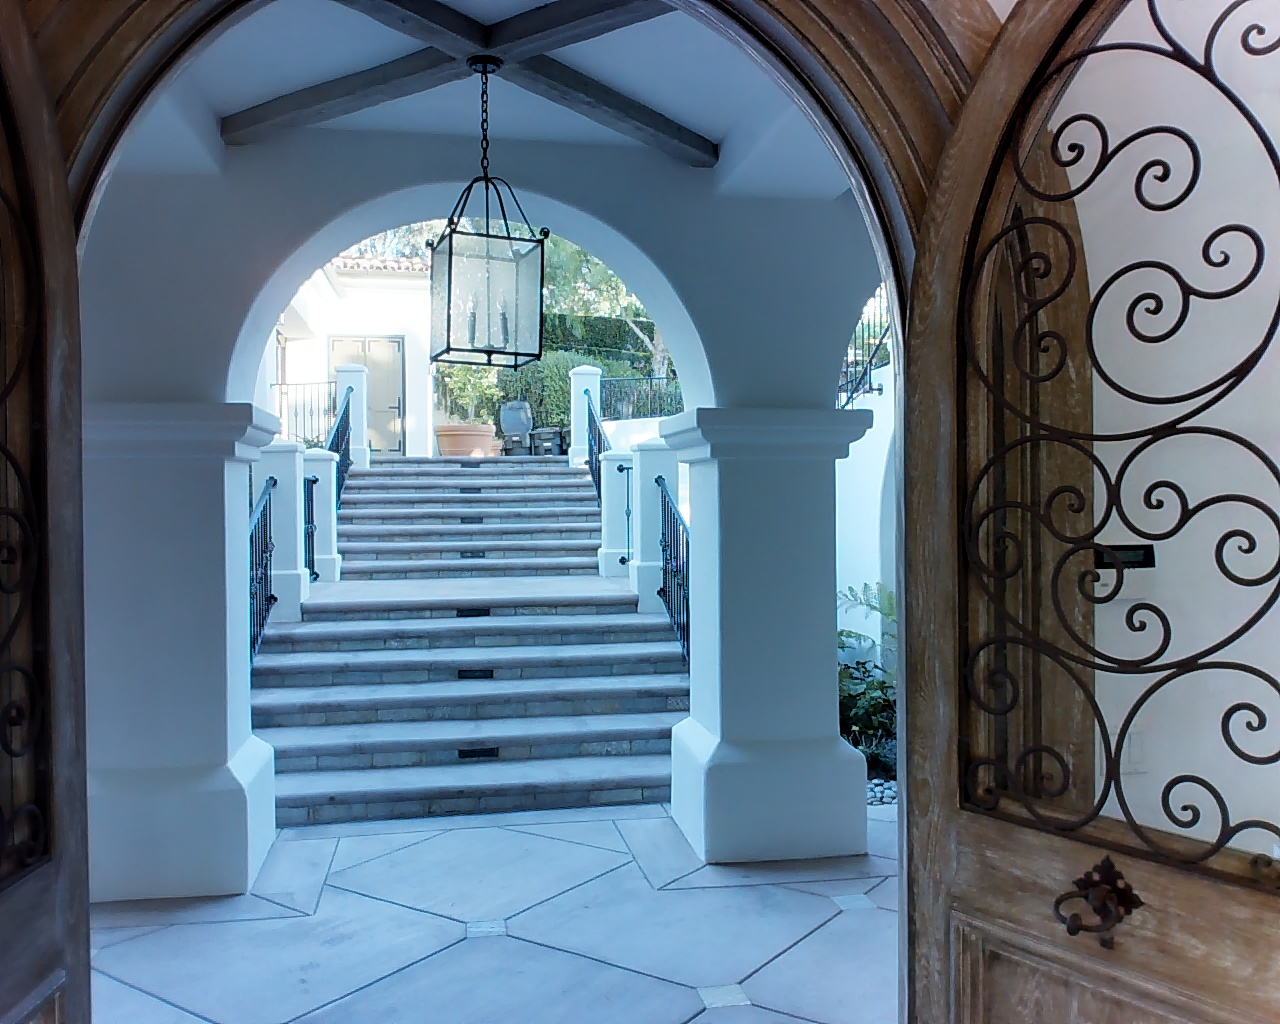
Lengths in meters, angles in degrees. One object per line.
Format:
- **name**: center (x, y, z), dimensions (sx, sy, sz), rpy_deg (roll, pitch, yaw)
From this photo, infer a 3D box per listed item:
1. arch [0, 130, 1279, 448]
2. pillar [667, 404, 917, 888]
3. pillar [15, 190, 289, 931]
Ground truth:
- **arch**: center (-0.800, -0.980, 5.230), dimensions (8.208, 1.280, 0.830), rpy_deg (-1, 0, -10)
- **pillar**: center (0.730, 0.610, 5.460), dimensions (1.000, 2.221, 0.930), rpy_deg (-1, 0, -10)
- **pillar**: center (-2.199, 0.200, 4.970), dimensions (0.950, 3.111, 0.790), rpy_deg (-1, 0, -10)
